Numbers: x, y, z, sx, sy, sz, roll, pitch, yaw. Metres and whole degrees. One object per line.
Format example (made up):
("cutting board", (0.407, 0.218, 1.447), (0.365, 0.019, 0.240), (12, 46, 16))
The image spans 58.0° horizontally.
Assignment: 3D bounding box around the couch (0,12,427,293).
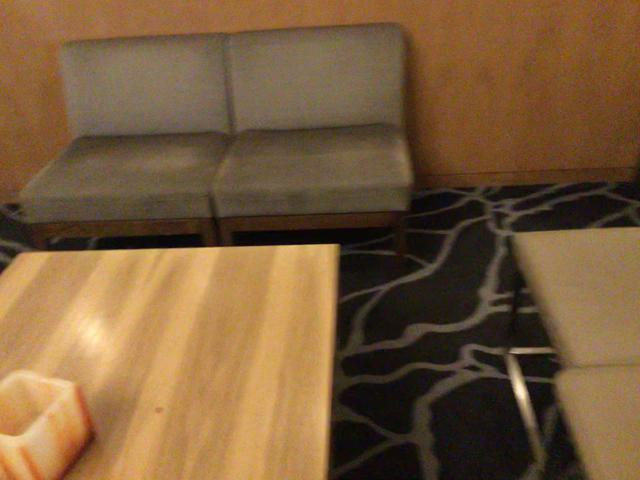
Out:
("couch", (-0.390, -0.360, 2.310), (1.520, 0.820, 0.690), (-3, 31, 4))
